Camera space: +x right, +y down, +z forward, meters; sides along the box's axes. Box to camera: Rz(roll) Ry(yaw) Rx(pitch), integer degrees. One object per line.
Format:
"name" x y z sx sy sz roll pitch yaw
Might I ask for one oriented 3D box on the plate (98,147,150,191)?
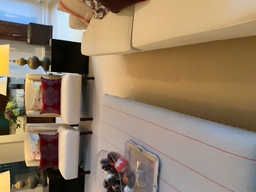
"plate" -0.040 0.590 1.640 0.350 0.260 0.280 2 92 57
